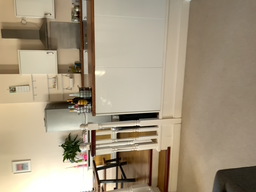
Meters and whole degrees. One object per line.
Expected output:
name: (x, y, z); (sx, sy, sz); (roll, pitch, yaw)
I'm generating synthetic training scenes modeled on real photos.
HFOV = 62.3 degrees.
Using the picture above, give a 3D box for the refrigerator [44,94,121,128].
refrigerator: (-1.070, 0.320, 5.090); (0.650, 1.700, 0.570); (-140, 50, -69)

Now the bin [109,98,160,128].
bin: (0.080, 0.230, 3.030); (0.350, 0.650, 0.300); (-140, 50, -69)
